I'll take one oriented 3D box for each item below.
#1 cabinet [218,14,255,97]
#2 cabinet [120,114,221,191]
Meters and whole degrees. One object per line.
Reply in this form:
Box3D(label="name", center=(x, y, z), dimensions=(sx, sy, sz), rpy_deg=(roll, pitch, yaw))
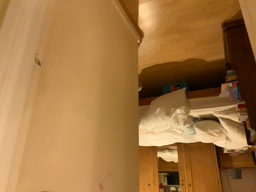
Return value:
Box3D(label="cabinet", center=(1.040, -0.330, 1.980), dimensions=(0.270, 0.420, 0.680), rpy_deg=(-9, 154, 22))
Box3D(label="cabinet", center=(0.780, 1.560, 4.170), dimensions=(1.850, 2.150, 0.430), rpy_deg=(-9, 154, 22))
